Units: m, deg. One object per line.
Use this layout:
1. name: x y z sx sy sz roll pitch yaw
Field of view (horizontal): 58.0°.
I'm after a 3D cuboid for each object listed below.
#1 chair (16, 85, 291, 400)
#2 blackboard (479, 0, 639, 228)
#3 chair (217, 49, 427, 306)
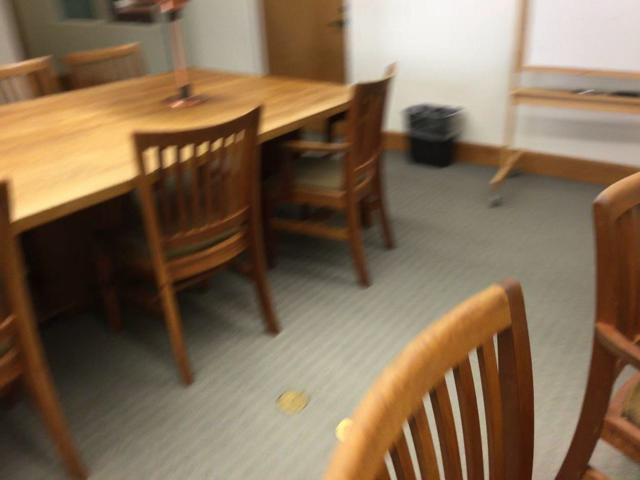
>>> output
1. chair: -0.580 -0.050 2.170 0.740 0.910 0.540 15 28 32
2. blackboard: 1.450 -0.970 3.060 0.870 1.560 0.620 15 28 32
3. chair: 0.030 -0.340 2.690 0.630 0.960 0.680 15 28 32
